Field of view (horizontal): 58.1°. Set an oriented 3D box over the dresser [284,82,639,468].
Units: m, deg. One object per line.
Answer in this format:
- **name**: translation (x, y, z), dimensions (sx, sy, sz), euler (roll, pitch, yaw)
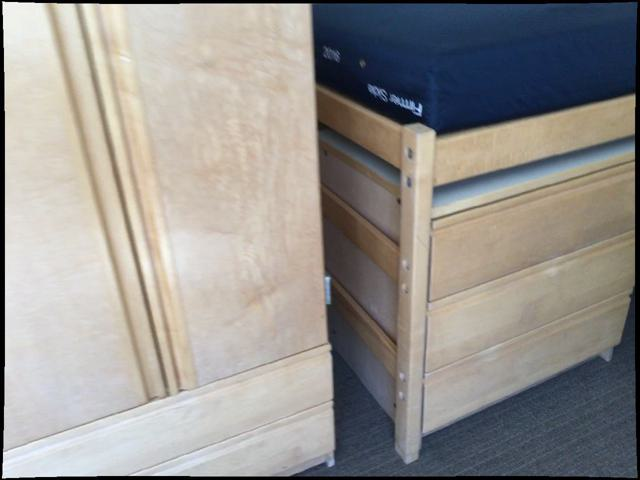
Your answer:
- **dresser**: translation (0.449, 0.030, 1.820), dimensions (0.848, 0.772, 0.710), euler (-16, 31, -19)
